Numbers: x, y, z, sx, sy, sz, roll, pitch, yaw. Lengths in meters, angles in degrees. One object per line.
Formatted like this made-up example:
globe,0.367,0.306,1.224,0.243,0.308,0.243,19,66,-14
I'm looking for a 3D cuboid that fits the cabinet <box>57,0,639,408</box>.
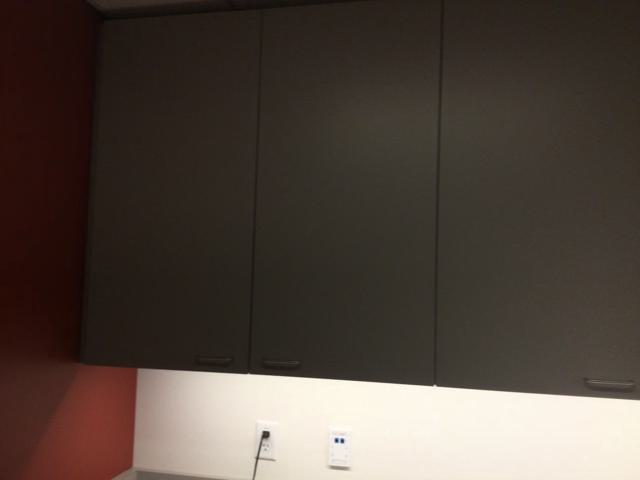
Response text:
cabinet,0.290,-0.160,1.470,2.010,1.080,0.140,-1,-6,13
